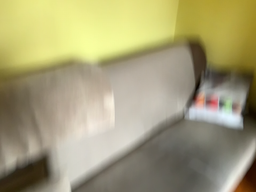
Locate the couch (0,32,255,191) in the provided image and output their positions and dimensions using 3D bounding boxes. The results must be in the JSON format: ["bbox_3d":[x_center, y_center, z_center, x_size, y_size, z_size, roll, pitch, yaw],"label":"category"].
[{"bbox_3d":[0.110,0.260,1.380,1.040,0.930,1.930,26,36,36],"label":"couch"}]
